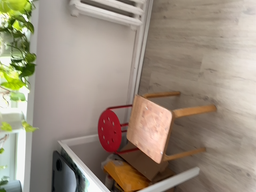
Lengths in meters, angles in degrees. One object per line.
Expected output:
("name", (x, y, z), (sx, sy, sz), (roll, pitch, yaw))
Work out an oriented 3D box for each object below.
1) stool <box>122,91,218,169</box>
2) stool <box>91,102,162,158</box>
("stool", (0.270, 0.180, 1.400), (0.370, 0.440, 0.340), (24, 110, 46))
("stool", (-0.010, 0.250, 1.730), (0.300, 0.450, 0.300), (23, 109, 47))
